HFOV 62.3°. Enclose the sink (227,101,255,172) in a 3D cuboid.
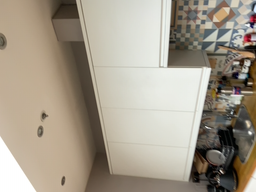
[{"bbox_3d":[1.150,0.380,2.020,0.450,0.180,0.470,-77,-13,-51],"label":"sink"}]
